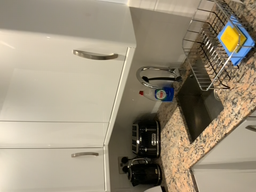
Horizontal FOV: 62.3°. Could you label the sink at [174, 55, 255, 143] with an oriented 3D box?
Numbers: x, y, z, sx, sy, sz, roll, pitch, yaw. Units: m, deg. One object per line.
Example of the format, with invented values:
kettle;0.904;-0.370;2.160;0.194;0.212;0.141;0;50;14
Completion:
sink;0.500;0.030;1.280;0.370;0.240;0.370;110;158;-51
